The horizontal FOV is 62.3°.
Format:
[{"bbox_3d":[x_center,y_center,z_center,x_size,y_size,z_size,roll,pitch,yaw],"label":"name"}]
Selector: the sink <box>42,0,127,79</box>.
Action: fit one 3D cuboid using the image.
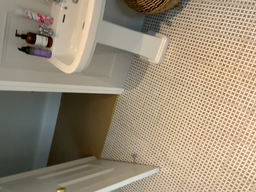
[{"bbox_3d":[-0.270,-0.440,1.250,0.440,0.190,0.550,30,110,39],"label":"sink"}]
